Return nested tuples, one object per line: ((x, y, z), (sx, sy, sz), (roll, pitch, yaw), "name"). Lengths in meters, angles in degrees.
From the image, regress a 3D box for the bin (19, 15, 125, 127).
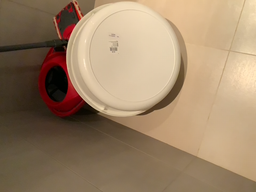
((-0.260, -0.120, 1.020), (0.260, 0.350, 0.410), (20, 103, 30), "bin")
